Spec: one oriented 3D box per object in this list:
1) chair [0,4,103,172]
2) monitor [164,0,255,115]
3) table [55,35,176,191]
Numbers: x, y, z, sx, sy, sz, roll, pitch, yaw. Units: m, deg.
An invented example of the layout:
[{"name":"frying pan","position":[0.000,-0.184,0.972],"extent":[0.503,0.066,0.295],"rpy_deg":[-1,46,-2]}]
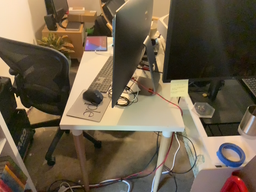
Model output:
[{"name":"chair","position":[-0.600,-0.050,1.580],"extent":[0.590,0.960,0.640],"rpy_deg":[13,42,12]},{"name":"monitor","position":[0.460,-0.160,0.900],"extent":[0.550,0.560,0.080],"rpy_deg":[-4,43,-3]},{"name":"table","position":[-0.070,0.110,1.600],"extent":[0.570,0.750,0.950],"rpy_deg":[1,41,-1]}]
